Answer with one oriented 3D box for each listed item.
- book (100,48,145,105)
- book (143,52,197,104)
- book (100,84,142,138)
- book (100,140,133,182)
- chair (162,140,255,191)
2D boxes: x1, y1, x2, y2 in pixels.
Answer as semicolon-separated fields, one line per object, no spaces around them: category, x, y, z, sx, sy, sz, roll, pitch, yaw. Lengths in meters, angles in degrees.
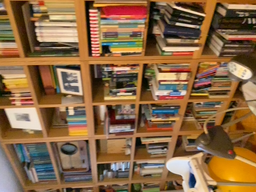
book;-0.060;-0.170;1.740;0.360;0.320;0.320;-100;11;-54
book;0.320;-0.150;1.720;0.250;0.330;0.330;-100;10;-51
book;-0.080;0.130;1.970;0.350;0.340;0.340;-100;10;-51
book;-0.140;0.750;2.470;0.300;0.350;0.340;-100;11;-54
chair;0.830;0.790;1.970;0.560;0.870;0.420;-99;10;-50
